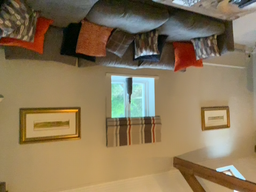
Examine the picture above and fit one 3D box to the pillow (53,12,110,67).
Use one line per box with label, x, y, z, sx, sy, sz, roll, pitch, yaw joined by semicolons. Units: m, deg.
pillow;-0.600;-0.740;2.800;0.570;0.450;0.150;-43;-163;-21
